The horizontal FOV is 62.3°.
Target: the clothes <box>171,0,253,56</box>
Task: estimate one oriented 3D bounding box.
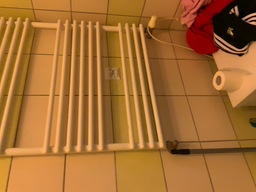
[{"bbox_3d":[0.410,-0.460,1.110,0.430,0.180,0.280,111,157,-60],"label":"clothes"}]
